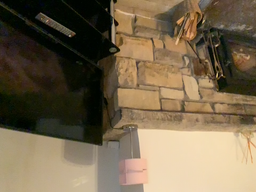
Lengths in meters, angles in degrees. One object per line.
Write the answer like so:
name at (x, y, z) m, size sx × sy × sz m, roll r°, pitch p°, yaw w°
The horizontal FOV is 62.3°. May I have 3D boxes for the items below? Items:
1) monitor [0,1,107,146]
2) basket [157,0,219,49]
monitor at (-0.430, -0.080, 1.060) m, size 0.070 × 0.540 × 0.950 m, roll -17°, pitch 154°, yaw 28°
basket at (0.470, -0.590, 1.730) m, size 0.330 × 0.220 × 0.320 m, roll 5°, pitch 156°, yaw -21°
